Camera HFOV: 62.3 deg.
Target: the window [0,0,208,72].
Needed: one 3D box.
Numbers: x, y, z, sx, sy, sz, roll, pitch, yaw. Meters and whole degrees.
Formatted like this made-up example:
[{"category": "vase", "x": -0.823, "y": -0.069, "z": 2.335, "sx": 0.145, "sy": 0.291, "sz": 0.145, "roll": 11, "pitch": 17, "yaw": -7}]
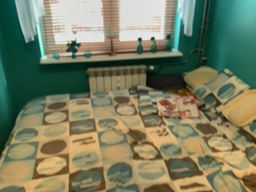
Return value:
[{"category": "window", "x": -0.170, "y": -1.230, "z": 1.990, "sx": 2.020, "sy": 1.840, "sz": 0.270, "roll": -7, "pitch": 26, "yaw": -13}]
